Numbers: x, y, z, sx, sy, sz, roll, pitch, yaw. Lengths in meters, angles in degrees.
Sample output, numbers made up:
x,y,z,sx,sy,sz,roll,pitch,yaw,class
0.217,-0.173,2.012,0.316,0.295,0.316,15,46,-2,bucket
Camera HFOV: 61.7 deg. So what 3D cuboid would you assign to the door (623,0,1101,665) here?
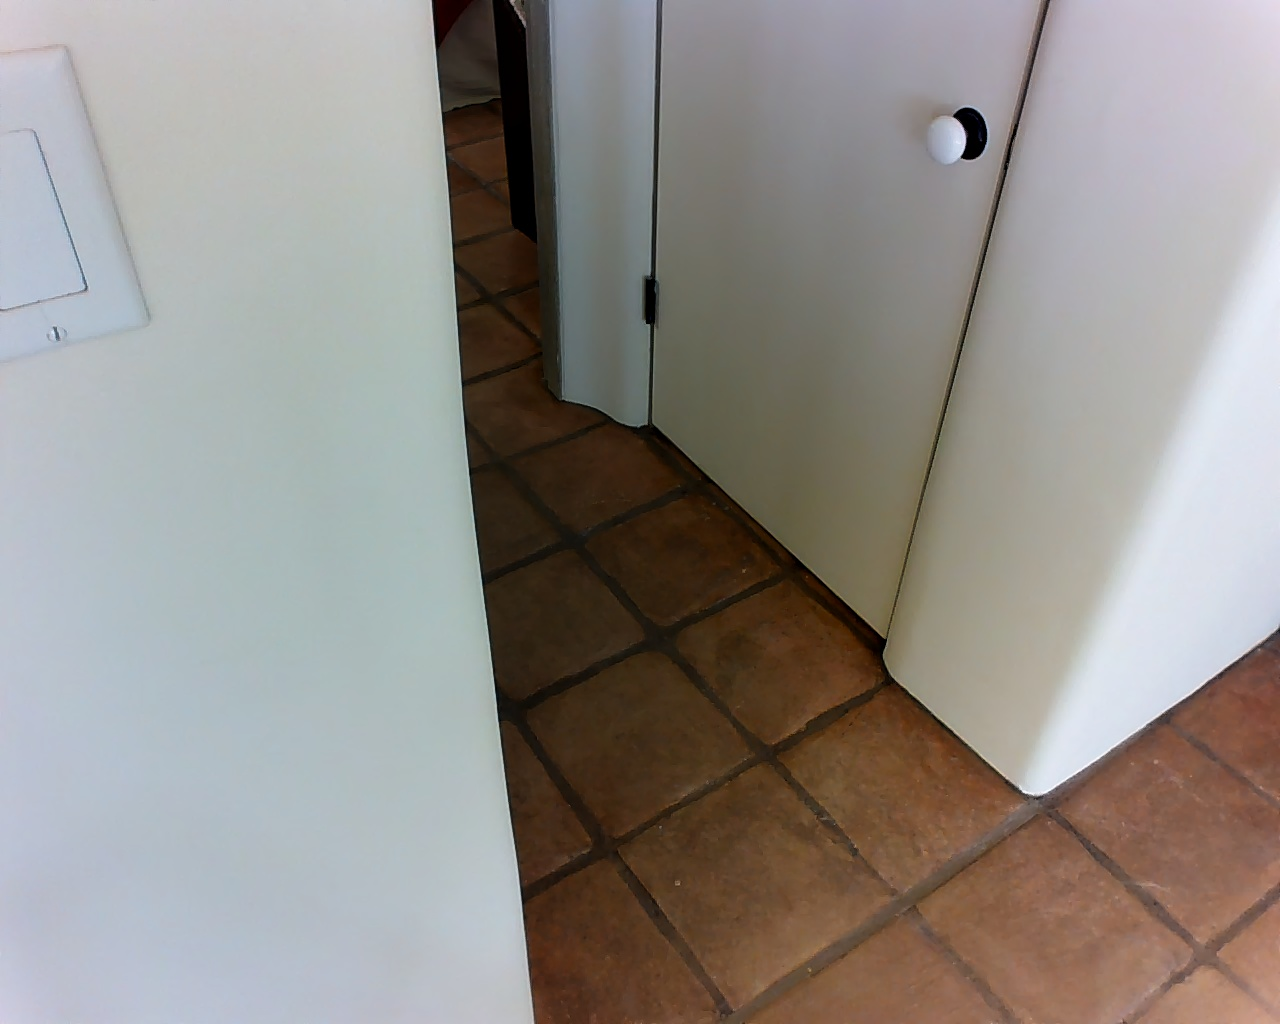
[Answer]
x,y,z,sx,sy,sz,roll,pitch,yaw,class
0.240,-0.760,1.460,0.070,2.080,0.860,-24,47,-25,door
